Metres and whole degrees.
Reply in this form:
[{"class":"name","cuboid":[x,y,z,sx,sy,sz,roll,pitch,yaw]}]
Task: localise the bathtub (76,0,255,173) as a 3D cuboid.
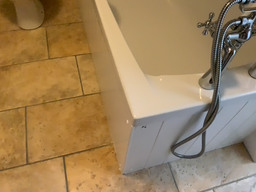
[{"class":"bathtub","cuboid":[0.070,-0.530,1.270,0.680,0.540,1.670,-11,59,-11]}]
